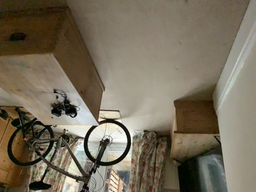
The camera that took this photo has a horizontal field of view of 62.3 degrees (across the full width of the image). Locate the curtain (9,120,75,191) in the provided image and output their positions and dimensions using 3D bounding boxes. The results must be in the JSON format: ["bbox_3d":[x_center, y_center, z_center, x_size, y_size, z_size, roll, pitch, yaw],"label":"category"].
[{"bbox_3d":[-1.450,1.730,3.160,0.710,2.830,0.290,1,150,7],"label":"curtain"}]

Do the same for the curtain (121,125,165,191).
[{"bbox_3d":[0.190,1.780,2.840,0.610,2.870,0.230,-1,150,9],"label":"curtain"}]

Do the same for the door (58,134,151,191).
[{"bbox_3d":[-0.450,1.900,3.470,1.580,2.610,0.110,-1,150,10],"label":"door"}]
